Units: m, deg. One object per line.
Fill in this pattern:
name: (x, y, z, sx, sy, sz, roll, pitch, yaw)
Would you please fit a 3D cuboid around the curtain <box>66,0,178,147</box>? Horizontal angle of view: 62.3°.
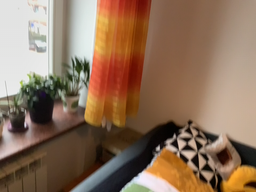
curtain: (0.000, -0.510, 1.280, 0.370, 1.480, 0.570, 21, 25, 28)
